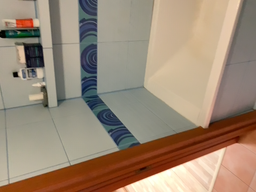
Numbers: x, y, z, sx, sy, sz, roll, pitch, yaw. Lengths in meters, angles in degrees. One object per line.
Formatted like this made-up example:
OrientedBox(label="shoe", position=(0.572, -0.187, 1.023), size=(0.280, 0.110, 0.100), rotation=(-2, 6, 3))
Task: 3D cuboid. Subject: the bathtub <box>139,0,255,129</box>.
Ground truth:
OrientedBox(label="bathtub", position=(0.570, -0.690, 1.370), size=(0.700, 0.570, 1.570), rotation=(41, 134, 50))
